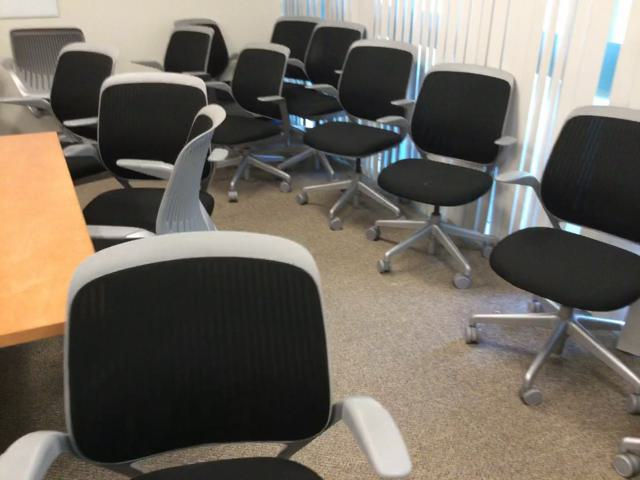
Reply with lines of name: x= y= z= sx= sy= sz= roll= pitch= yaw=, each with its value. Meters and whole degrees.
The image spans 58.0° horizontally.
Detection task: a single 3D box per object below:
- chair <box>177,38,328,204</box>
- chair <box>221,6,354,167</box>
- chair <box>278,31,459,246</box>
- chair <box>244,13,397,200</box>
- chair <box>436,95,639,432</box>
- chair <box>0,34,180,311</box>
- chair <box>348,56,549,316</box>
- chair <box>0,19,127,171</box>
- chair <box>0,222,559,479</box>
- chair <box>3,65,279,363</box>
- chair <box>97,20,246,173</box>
chair: x=-0.420 y=-0.760 z=3.520 sx=0.610 sy=0.810 sz=0.640 roll=-18 pitch=33 yaw=-39
chair: x=-0.250 y=-1.120 z=4.130 sx=0.670 sy=0.970 sz=0.600 roll=-20 pitch=34 yaw=-41
chair: x=0.250 y=-0.590 z=3.130 sx=0.640 sy=0.930 sz=0.680 roll=19 pitch=29 yaw=28
chair: x=-0.030 y=-0.880 z=3.690 sx=0.660 sy=1.000 sz=0.640 roll=-16 pitch=31 yaw=-36
chair: x=0.870 y=0.030 z=1.950 sx=0.570 sy=0.890 sz=0.600 roll=-8 pitch=28 yaw=-25
chair: x=-1.210 y=-0.370 z=2.620 sx=0.790 sy=0.950 sz=0.740 roll=18 pitch=28 yaw=27
chair: x=0.560 y=-0.280 z=2.630 sx=0.570 sy=0.960 sz=0.560 roll=20 pitch=29 yaw=31
chair: x=-1.700 y=-0.980 z=3.850 sx=0.640 sy=0.850 sz=0.590 roll=-8 pitch=28 yaw=-25
chair: x=-0.200 y=0.530 z=0.970 sx=0.680 sy=0.890 sz=0.680 roll=-4 pitch=26 yaw=-16
chair: x=-0.700 y=-0.180 z=2.330 sx=0.750 sy=0.880 sz=0.730 roll=-16 pitch=32 yaw=-37
chair: x=-0.960 y=-0.990 z=3.870 sx=0.630 sy=0.830 sz=0.670 roll=18 pitch=28 yaw=27
